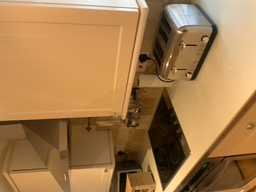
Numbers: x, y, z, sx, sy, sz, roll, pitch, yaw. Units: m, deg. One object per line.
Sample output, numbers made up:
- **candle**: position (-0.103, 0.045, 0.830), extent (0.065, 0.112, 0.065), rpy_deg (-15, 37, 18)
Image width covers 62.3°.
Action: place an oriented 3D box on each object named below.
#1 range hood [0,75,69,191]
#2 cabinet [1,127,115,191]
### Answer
- **range hood**: position (-0.630, 0.270, 1.330), extent (0.590, 0.470, 0.540), rpy_deg (103, 161, -47)
- **cabinet**: position (-0.560, 0.620, 1.870), extent (0.660, 0.780, 0.340), rpy_deg (103, 161, -46)
